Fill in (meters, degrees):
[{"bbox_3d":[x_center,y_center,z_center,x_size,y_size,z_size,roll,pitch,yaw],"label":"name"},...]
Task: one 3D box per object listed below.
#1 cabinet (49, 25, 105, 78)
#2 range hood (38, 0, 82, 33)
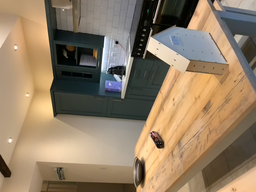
[{"bbox_3d":[-0.870,-0.740,3.690,0.800,0.840,0.270,106,166,-49],"label":"cabinet"},{"bbox_3d":[-0.900,-1.340,2.870,0.820,0.520,0.350,106,166,-48],"label":"range hood"}]
